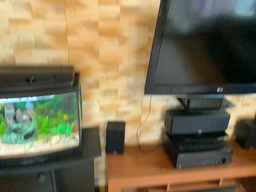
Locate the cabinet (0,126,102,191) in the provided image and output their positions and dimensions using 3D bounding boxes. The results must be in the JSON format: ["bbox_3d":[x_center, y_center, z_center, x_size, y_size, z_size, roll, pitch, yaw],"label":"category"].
[{"bbox_3d":[-0.710,0.620,1.510,1.010,0.620,0.450,-1,24,-10],"label":"cabinet"}]
